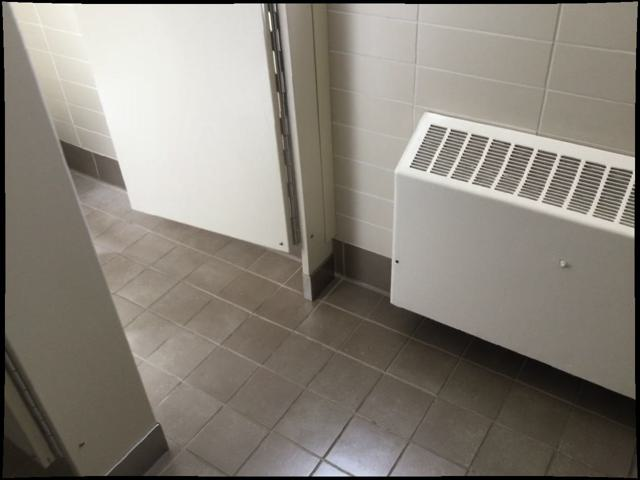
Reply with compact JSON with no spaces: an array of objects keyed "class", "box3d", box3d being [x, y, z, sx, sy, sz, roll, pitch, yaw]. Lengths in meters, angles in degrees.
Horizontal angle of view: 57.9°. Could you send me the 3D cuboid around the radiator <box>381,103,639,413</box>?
[{"class":"radiator","box3d":[0.569,0.060,1.310,0.879,0.530,0.190,21,45,28]}]
